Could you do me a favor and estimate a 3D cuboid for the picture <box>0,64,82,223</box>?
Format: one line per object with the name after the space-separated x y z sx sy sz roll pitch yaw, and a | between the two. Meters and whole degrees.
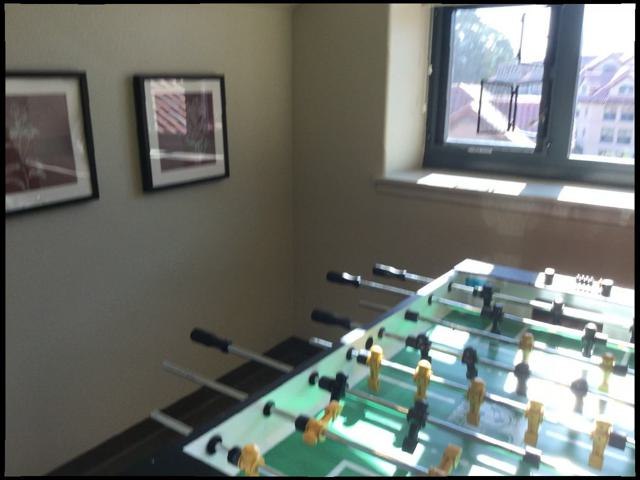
-0.958 -0.291 1.740 0.060 0.461 0.450 12 19 32 | picture

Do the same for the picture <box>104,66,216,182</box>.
-0.599 -0.461 2.240 0.060 0.401 0.480 12 19 32 | picture

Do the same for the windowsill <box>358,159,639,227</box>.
1.118 -0.160 2.280 1.977 0.080 0.450 12 19 32 | windowsill
